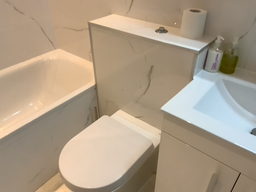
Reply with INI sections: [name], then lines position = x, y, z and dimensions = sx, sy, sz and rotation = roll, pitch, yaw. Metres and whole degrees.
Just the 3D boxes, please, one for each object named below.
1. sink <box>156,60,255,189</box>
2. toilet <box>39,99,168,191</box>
[sink]
position = 0.490, 0.100, 0.770
dimensions = 0.610, 0.140, 0.460
rotation = 26, 44, 31
[toilet]
position = -0.100, 0.400, 1.210
dimensions = 0.380, 0.450, 0.550
rotation = 25, 43, 30
